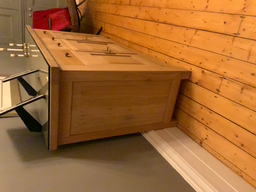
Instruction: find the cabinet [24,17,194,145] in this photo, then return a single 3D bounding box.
[{"bbox_3d":[-0.390,-0.320,2.020,1.700,0.950,0.530,40,126,52],"label":"cabinet"}]
